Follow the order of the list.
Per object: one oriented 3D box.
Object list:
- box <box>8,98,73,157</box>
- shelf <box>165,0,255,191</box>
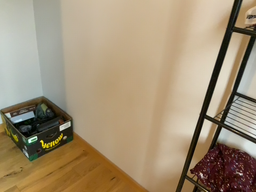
[{"bbox_3d":[-0.790,0.260,1.920,0.460,0.210,0.360,29,36,35],"label":"box"},{"bbox_3d":[0.420,0.260,0.800,0.380,1.570,0.310,27,35,32],"label":"shelf"}]
